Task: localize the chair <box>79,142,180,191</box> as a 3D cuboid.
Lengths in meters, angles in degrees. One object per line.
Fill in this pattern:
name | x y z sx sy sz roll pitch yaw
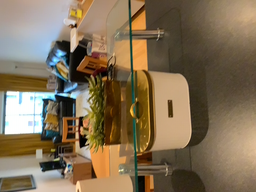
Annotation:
chair | 0.020 0.790 2.210 0.380 0.960 0.520 -18 73 61
